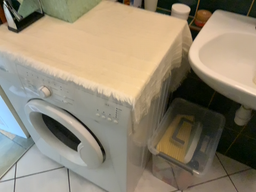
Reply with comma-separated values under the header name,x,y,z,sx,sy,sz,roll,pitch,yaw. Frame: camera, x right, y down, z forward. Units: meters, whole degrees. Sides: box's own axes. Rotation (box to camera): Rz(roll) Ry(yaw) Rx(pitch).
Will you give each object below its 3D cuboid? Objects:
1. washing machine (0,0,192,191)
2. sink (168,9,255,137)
name,x,y,z,sx,sy,sz,roll,pitch,yaw
washing machine,-0.160,0.040,1.070,0.620,0.840,0.530,23,52,18
sink,0.500,-0.070,0.760,0.560,0.180,0.420,24,52,19
